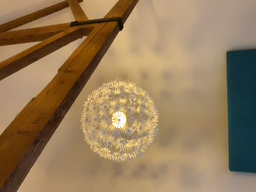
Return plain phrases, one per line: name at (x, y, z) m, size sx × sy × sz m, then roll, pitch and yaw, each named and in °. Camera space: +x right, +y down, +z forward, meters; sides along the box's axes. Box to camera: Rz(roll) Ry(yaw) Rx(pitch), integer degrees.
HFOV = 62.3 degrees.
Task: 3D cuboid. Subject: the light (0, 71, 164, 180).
light at (-0.570, 0.280, 2.700) m, size 0.940 × 1.870 × 0.900 m, roll -50°, pitch -45°, yaw -64°
